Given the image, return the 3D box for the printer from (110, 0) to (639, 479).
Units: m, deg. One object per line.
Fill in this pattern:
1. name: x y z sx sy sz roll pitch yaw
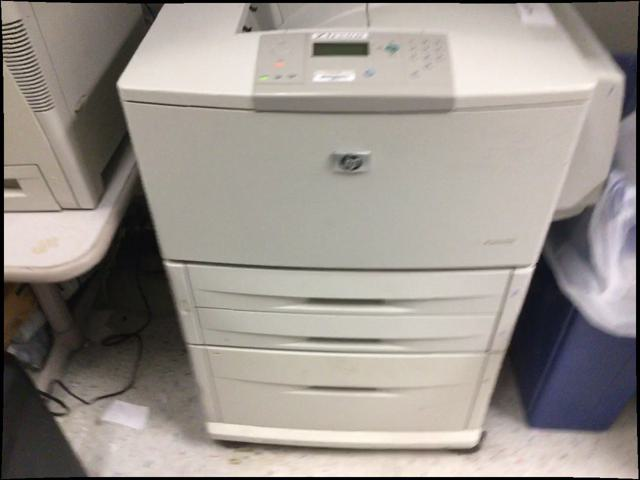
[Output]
1. printer: 0.080 -0.040 1.320 0.658 1.001 0.741 -3 39 1

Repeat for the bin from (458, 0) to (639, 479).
1. bin: 0.628 0.030 1.200 0.449 0.891 0.681 -3 39 1
